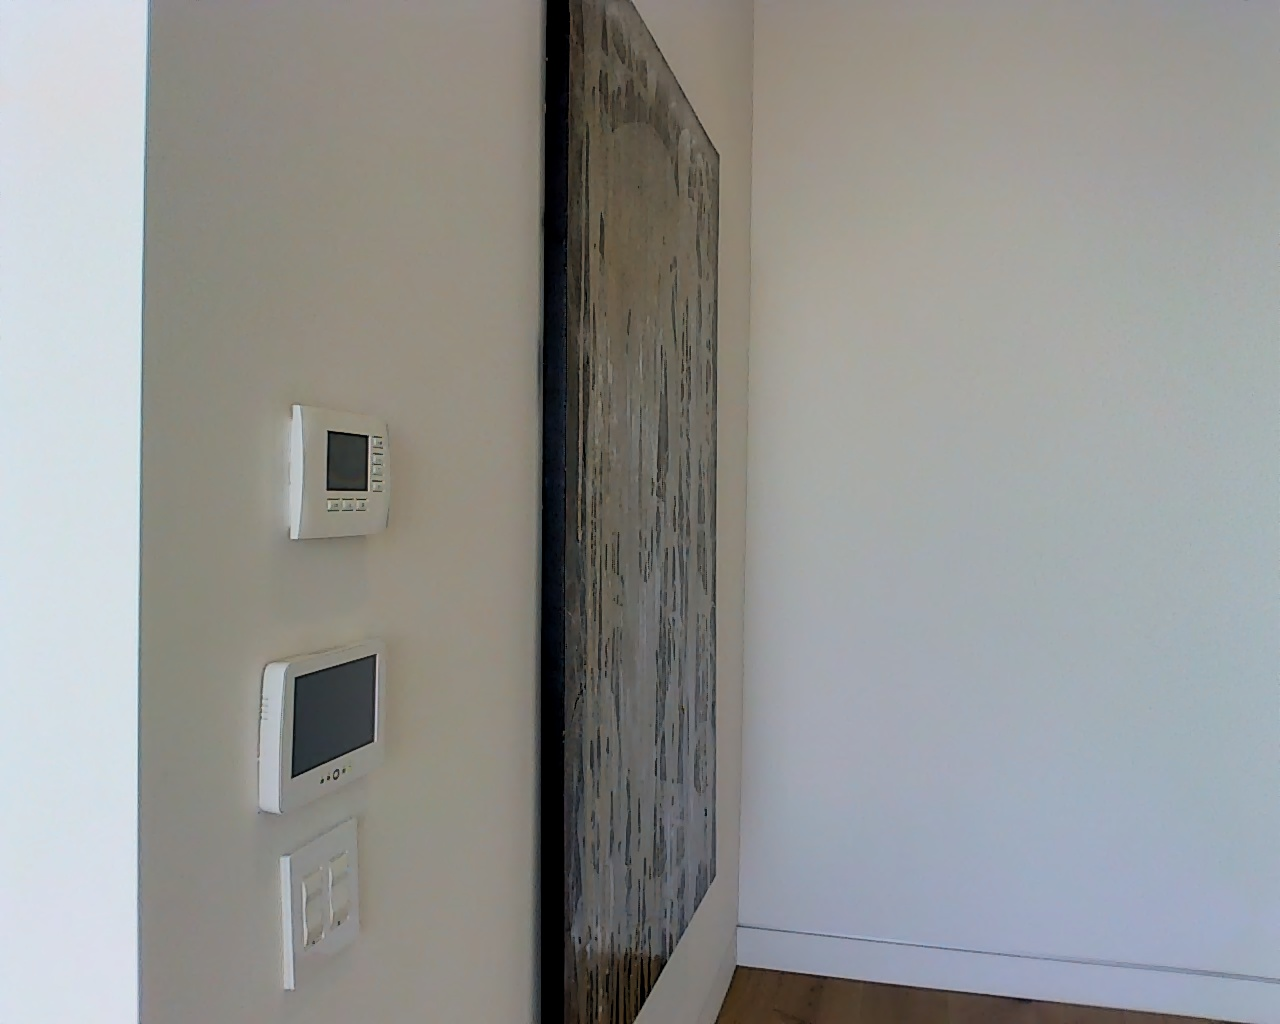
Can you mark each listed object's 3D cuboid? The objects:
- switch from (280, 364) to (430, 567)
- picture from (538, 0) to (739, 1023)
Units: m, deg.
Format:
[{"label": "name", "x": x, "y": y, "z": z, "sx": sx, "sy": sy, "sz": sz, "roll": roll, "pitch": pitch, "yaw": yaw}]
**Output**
[{"label": "switch", "x": -0.260, "y": -0.040, "z": 1.010, "sx": 0.030, "sy": 0.170, "sz": 0.220, "roll": 1, "pitch": 1, "yaw": 14}, {"label": "picture", "x": 0.050, "y": 0.050, "z": 2.150, "sx": 0.060, "sy": 1.880, "sz": 1.270, "roll": 1, "pitch": 1, "yaw": 14}]
